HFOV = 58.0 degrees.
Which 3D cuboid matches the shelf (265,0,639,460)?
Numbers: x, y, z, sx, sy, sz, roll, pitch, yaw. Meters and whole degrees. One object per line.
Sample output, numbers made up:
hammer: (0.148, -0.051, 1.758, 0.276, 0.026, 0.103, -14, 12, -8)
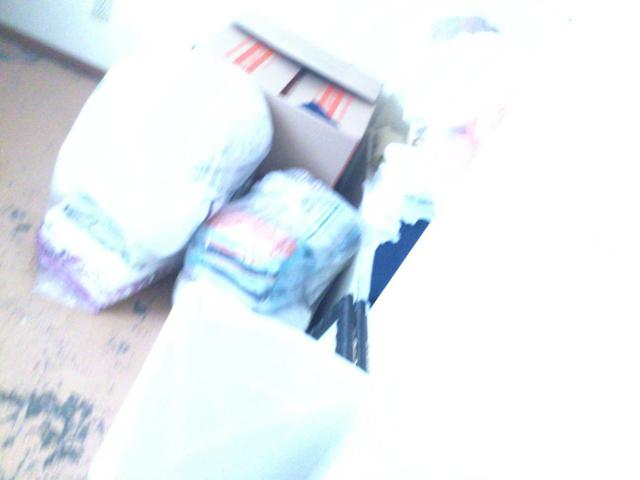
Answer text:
shelf: (0.540, -0.570, 1.530, 0.420, 1.890, 1.310, 26, 30, -7)
